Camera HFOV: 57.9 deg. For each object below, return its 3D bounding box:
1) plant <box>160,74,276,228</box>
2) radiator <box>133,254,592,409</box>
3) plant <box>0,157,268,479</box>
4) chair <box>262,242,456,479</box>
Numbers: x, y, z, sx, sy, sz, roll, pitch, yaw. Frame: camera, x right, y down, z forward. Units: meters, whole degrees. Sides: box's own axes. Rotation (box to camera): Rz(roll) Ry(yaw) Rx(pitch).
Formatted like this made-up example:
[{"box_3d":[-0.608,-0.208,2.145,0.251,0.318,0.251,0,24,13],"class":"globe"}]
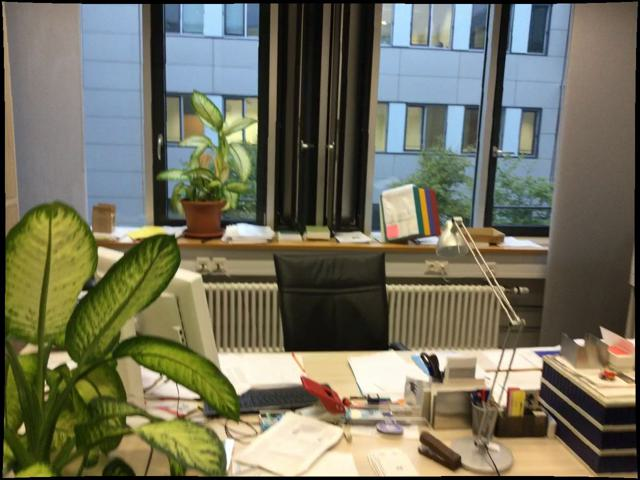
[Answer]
[{"box_3d":[-0.639,-0.561,3.660,0.629,0.851,0.480,4,12,-8],"class":"plant"},{"box_3d":[0.240,0.541,3.460,2.498,0.621,0.620,4,12,-8],"class":"radiator"},{"box_3d":[-0.639,0.581,1.420,0.869,1.431,0.990,4,12,-8],"class":"plant"},{"box_3d":[0.120,0.571,2.600,0.669,0.981,0.560,4,12,-8],"class":"chair"}]
